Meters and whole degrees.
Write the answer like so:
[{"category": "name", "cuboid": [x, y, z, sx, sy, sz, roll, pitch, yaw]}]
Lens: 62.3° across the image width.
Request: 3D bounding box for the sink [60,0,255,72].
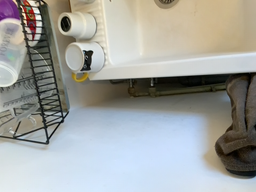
[{"category": "sink", "cuboid": [0.100, -0.310, 0.750, 0.780, 0.170, 0.380, 0, 101, 33]}]
